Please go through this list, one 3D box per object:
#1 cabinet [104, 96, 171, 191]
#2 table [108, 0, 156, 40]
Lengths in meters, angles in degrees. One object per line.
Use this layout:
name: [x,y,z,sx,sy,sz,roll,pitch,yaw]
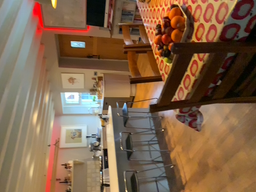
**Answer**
cabinet: [0.060,1.190,4.170,1.090,0.860,2.140,105,162,-49]
table: [0.040,-1.750,4.640,0.930,0.850,0.350,105,162,-48]
